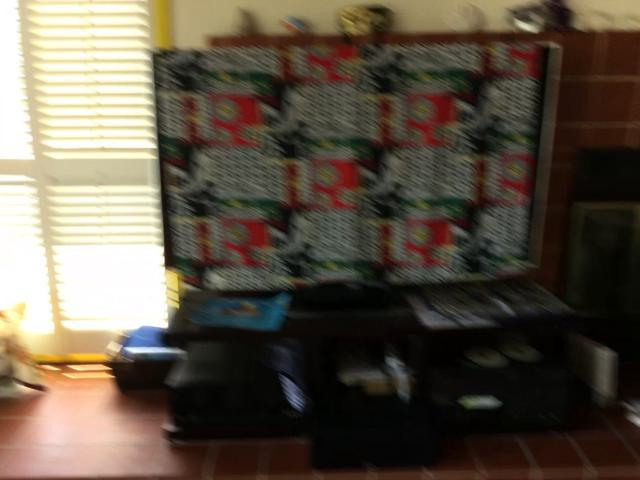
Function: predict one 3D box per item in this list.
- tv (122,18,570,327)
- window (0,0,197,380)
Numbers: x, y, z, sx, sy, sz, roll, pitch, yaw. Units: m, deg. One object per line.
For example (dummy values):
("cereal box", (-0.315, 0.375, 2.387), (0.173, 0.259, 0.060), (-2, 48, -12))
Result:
("tv", (0.090, -0.200, 1.860), (1.230, 0.840, 0.350), (-3, 15, 4))
("window", (-1.140, -0.360, 2.030), (1.190, 1.790, 0.160), (-3, 15, 4))
